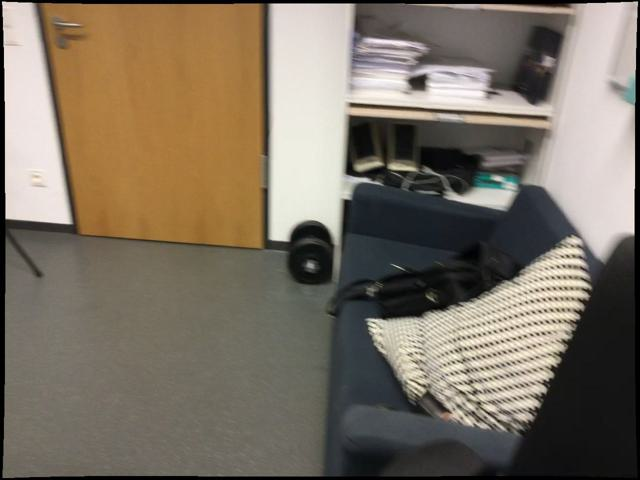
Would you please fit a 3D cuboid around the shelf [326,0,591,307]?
[{"bbox_3d":[0.499,-0.761,2.280,0.829,2.082,0.510,4,29,1],"label":"shelf"}]

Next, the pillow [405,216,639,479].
[{"bbox_3d":[0.529,0.280,1.310,0.579,0.480,0.460,4,29,1],"label":"pillow"}]

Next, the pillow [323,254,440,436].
[{"bbox_3d":[0.160,0.270,1.660,0.270,0.200,0.540,4,29,1],"label":"pillow"}]

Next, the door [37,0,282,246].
[{"bbox_3d":[-0.679,-0.941,2.500,1.009,2.052,0.170,5,30,3],"label":"door"}]
